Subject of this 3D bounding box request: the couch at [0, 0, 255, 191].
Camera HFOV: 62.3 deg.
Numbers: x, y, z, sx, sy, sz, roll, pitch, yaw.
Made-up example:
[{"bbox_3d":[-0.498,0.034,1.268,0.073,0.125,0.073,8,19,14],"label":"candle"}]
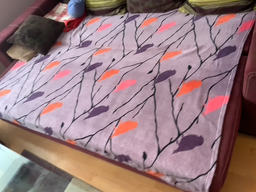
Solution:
[{"bbox_3d":[-0.180,-0.310,1.800,2.530,0.630,1.550,11,56,30],"label":"couch"}]
